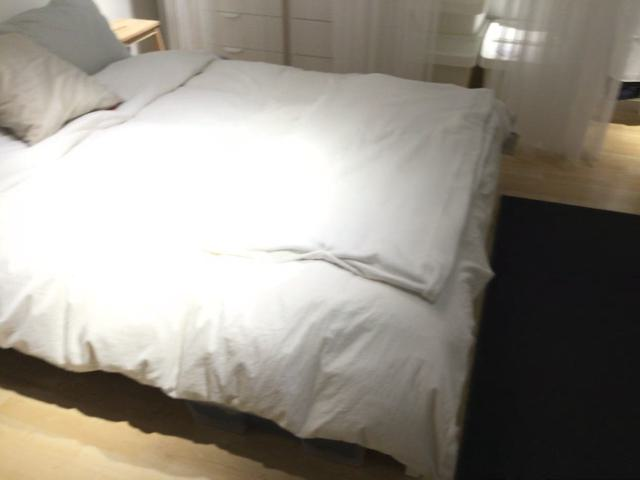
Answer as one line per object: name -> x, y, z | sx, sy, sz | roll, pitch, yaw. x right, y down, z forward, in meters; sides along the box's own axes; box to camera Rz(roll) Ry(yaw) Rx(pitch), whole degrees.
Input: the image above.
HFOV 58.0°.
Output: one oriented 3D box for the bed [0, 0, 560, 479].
bed -> -0.430, -0.320, 2.010 | 2.170, 0.970, 1.920 | 11, 37, 18
